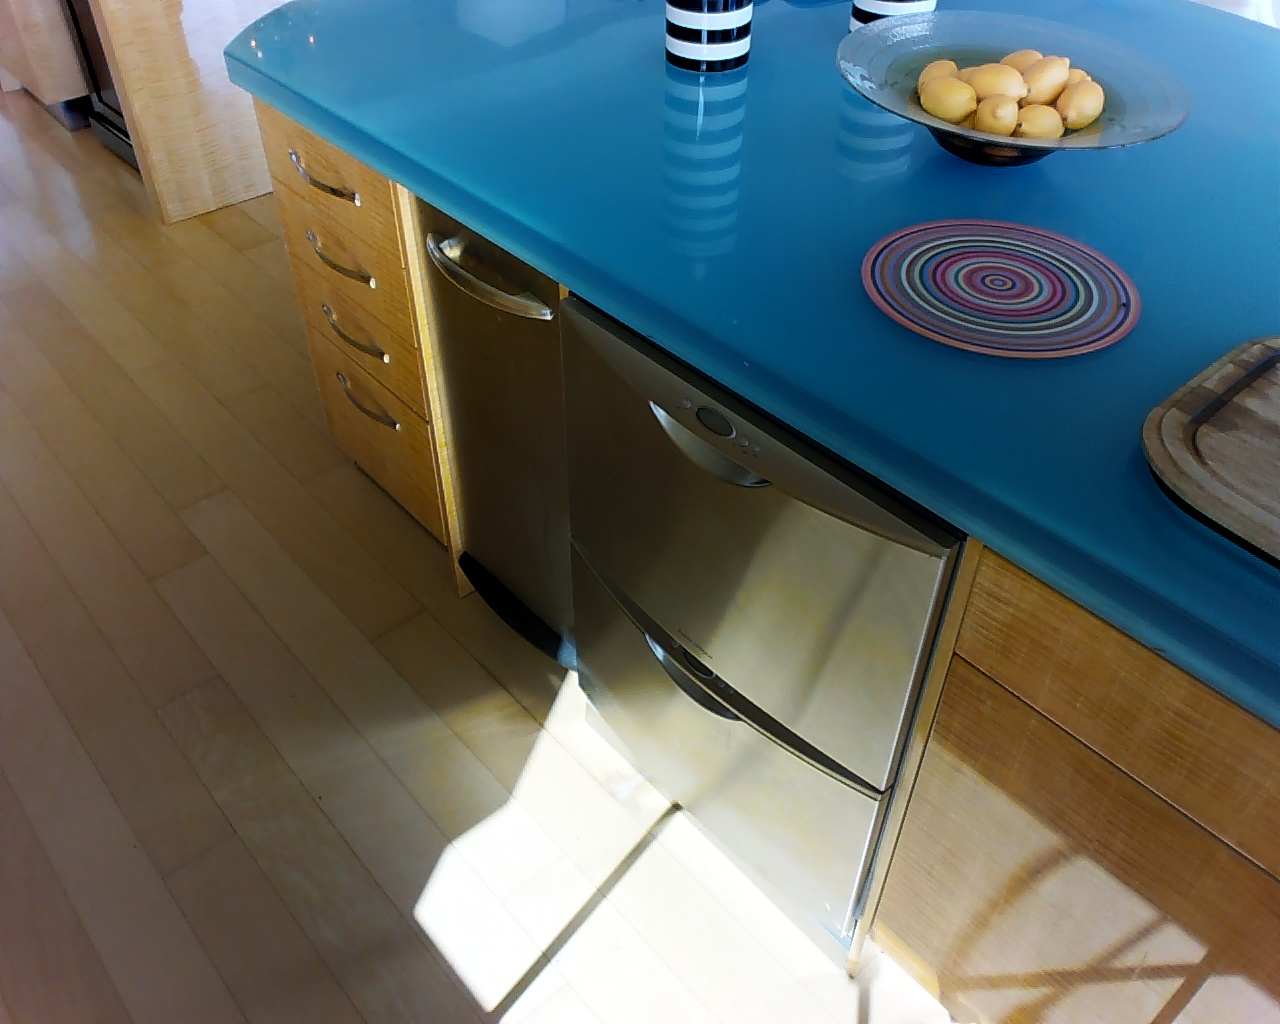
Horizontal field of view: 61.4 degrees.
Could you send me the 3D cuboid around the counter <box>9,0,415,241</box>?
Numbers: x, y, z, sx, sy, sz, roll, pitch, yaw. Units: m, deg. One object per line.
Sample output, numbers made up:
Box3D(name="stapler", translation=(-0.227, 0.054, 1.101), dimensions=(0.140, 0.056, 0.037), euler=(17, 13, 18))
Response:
Box3D(name="counter", translation=(-1.430, -1.640, 3.490), dimensions=(0.890, 1.000, 0.940), euler=(-30, 49, -29))
